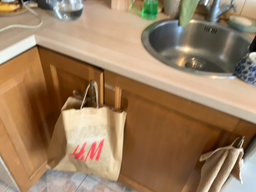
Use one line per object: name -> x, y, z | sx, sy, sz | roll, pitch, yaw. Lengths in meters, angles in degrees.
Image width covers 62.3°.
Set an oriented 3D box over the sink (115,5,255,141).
sink -> 0.280, -0.150, 0.870 | 0.470, 0.190, 0.500 | 22, 45, 17
